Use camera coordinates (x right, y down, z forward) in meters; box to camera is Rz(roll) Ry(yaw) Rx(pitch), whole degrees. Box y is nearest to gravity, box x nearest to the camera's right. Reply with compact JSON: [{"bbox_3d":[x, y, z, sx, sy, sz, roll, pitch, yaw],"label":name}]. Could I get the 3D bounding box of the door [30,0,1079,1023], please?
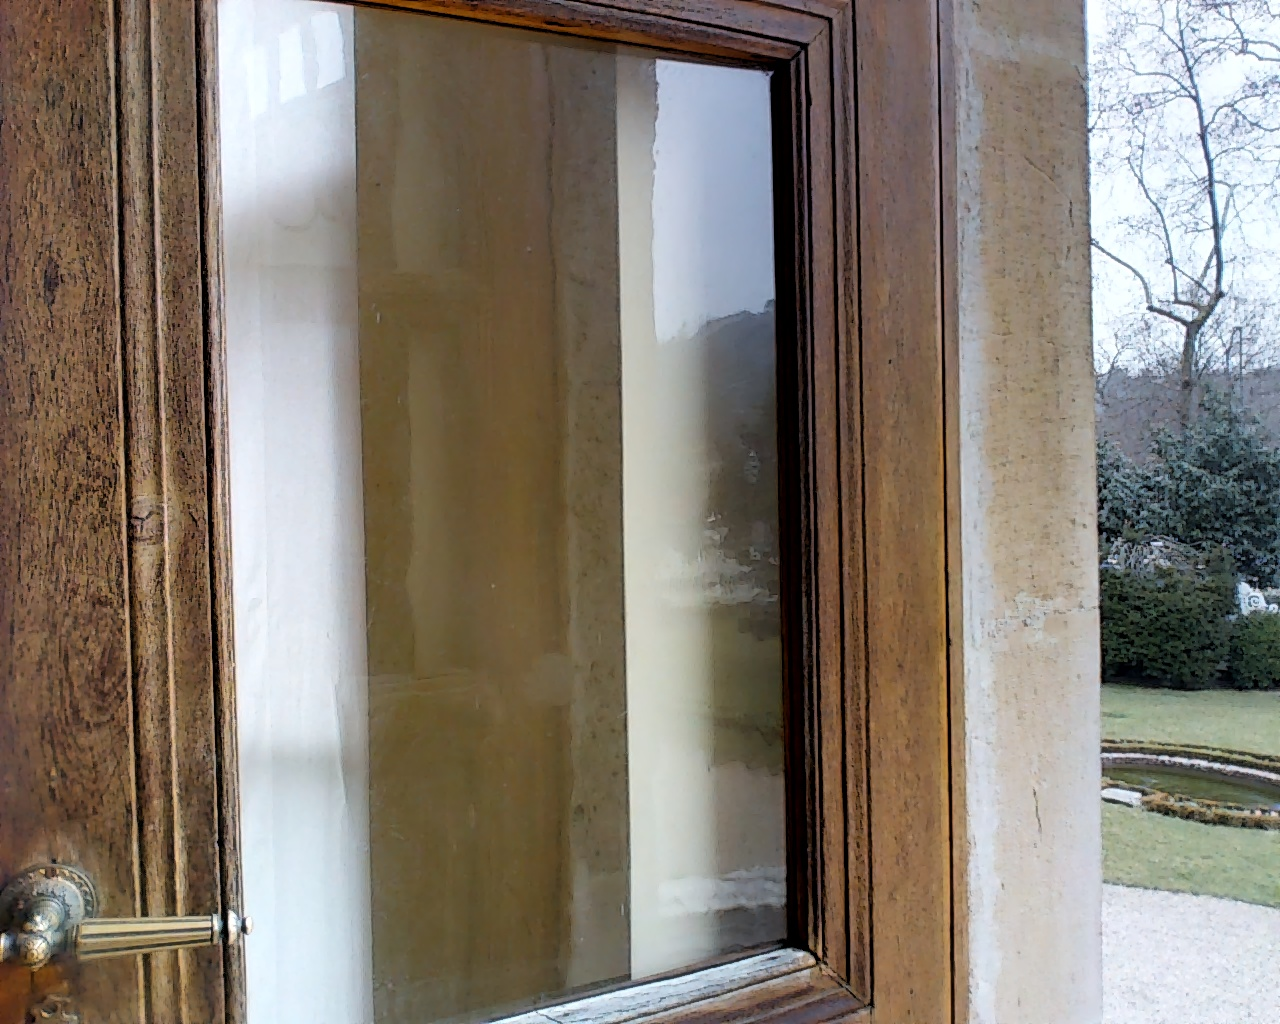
[{"bbox_3d":[0.010,0.100,0.810,0.800,2.991,0.140,-1,1,-31],"label":"door"}]
